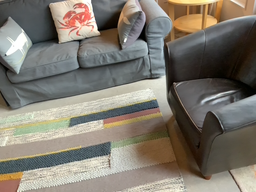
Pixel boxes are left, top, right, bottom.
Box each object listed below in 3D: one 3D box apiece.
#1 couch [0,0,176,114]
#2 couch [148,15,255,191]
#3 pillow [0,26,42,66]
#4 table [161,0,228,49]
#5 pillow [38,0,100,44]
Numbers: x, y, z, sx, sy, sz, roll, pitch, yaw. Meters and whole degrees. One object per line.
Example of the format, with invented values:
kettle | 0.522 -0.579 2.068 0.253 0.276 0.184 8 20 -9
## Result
couch | -0.530 -0.590 2.150 1.810 0.820 0.830 -13 40 -3
couch | 0.620 0.030 1.260 0.820 0.680 0.720 -11 40 0
pillow | -1.040 -0.460 1.980 0.190 0.300 0.560 -10 13 0
table | 0.750 -0.990 2.540 0.580 0.540 0.550 -11 40 0
pillow | -0.550 -0.750 2.060 0.480 0.380 0.190 -10 11 -2
